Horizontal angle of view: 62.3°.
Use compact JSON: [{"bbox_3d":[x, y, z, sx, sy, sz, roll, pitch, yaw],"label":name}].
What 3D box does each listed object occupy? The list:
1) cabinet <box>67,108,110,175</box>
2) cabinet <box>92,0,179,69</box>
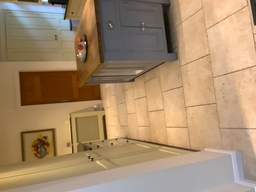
[{"bbox_3d":[-1.000,1.100,5.330,0.200,0.910,1.500,162,103,-67],"label":"cabinet"},{"bbox_3d":[0.080,-0.730,2.440,0.340,0.860,0.750,159,105,-67],"label":"cabinet"}]
